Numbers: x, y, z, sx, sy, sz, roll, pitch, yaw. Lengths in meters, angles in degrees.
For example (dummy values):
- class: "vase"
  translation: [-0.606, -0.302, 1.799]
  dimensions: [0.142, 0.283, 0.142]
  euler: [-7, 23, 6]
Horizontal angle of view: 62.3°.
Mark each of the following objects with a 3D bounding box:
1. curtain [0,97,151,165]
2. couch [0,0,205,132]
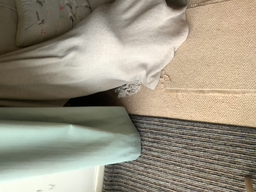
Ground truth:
- class: "curtain"
  translation: [-0.660, 0.060, 0.370]
  dimensions: [0.350, 2.430, 0.170]
  euler: [5, 88, 32]
- class: "couch"
  translation: [-0.410, -0.530, 1.140]
  dimensions: [1.000, 0.830, 1.110]
  euler: [-32, 69, 26]
